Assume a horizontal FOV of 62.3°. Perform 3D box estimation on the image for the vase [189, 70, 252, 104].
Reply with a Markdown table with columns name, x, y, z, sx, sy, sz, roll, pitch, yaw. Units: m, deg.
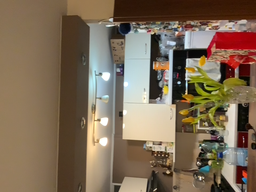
| name | x | y | z | sx | sy | sz | roll | pitch | yaw |
| --- | --- | --- | --- | --- | --- | --- | --- | --- | --- |
| vase | 0.650 | -0.070 | 1.550 | 0.300 | 0.340 | 0.220 | -24 | -64 | -82 |
